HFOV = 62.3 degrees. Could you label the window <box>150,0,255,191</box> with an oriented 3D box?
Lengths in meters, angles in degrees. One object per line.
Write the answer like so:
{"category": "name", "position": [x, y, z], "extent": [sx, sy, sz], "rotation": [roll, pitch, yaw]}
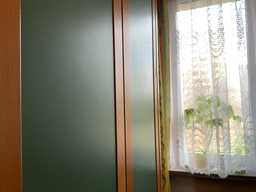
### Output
{"category": "window", "position": [0.830, -0.080, 1.490], "extent": [1.260, 1.580, 0.240], "rotation": [-3, -2, 19]}
